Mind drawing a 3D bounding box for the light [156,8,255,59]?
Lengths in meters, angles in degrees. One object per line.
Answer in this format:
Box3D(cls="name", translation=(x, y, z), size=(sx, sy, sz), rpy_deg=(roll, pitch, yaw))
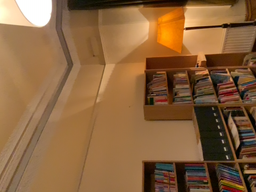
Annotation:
Box3D(cls="light", translation=(1.310, -1.010, 3.400), size=(0.620, 1.700, 0.510), rpy_deg=(-83, -10, -52))
